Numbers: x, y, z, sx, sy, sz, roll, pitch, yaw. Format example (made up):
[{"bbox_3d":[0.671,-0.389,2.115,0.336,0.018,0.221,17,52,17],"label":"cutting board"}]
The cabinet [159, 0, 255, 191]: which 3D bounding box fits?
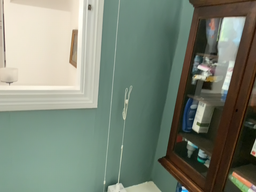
[{"bbox_3d":[0.400,0.050,0.780,0.170,0.800,0.620,-4,-163,-26],"label":"cabinet"}]
